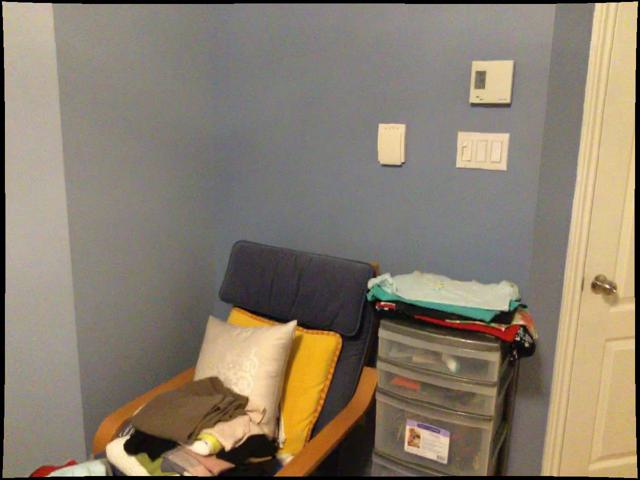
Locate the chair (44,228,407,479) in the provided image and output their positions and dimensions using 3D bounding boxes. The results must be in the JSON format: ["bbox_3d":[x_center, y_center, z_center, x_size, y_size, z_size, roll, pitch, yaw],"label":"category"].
[{"bbox_3d":[-0.240,0.531,1.910,0.739,0.911,0.860,9,16,29],"label":"chair"}]

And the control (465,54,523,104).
[{"bbox_3d":[0.519,-0.480,1.730,0.150,0.140,0.040,9,16,29],"label":"control"}]
